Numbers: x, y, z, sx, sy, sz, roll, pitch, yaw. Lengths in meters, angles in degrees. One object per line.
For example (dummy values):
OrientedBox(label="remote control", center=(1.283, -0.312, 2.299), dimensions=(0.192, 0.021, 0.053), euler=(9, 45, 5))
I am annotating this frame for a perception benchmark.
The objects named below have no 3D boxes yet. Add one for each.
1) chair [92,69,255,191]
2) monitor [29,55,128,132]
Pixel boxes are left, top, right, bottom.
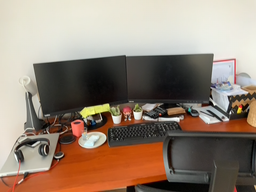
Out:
OrientedBox(label="chair", center=(0.330, 0.510, 1.010), dimensions=(0.700, 1.100, 0.750), euler=(-1, 22, 6))
OrientedBox(label="monitor", center=(-0.280, -0.020, 1.340), dimensions=(0.550, 0.410, 0.050), euler=(-10, 23, -17))
